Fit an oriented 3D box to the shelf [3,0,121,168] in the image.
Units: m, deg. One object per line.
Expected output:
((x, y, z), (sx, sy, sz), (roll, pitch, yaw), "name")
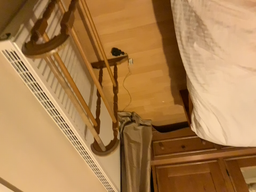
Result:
((-0.200, -0.160, 1.090), (0.160, 0.770, 0.720), (-10, 136, 8), "shelf")
